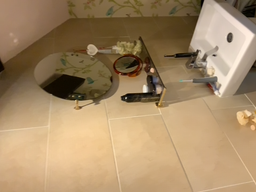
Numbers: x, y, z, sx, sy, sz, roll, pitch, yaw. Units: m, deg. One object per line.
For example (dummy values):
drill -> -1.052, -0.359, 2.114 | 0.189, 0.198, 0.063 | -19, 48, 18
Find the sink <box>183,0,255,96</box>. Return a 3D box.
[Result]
sink -> 0.570, -0.340, 1.350 | 0.430, 0.130, 0.520 | 97, 163, -45
